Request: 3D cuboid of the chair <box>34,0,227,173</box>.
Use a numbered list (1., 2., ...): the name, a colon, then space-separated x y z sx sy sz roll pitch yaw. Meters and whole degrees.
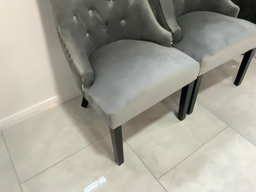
1. chair: -0.030 -0.230 1.160 0.590 0.960 0.680 -27 50 -23
